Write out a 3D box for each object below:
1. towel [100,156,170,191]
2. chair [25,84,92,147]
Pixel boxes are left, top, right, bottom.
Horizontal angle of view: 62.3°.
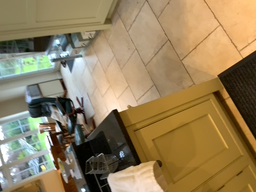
[{"bbox_3d":[0.030,0.460,1.050,0.220,0.200,0.270,65,149,13],"label":"towel"},{"bbox_3d":[-1.360,0.360,4.180,0.740,0.980,0.660,54,145,29],"label":"chair"}]
